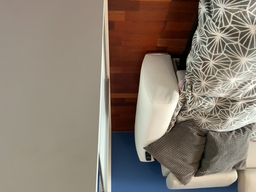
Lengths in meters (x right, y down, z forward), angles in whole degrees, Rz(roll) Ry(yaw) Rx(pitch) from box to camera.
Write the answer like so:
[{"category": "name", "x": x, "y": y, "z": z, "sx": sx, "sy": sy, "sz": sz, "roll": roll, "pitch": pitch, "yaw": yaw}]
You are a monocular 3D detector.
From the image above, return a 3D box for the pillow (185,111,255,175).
[{"category": "pillow", "x": 0.790, "y": 0.390, "z": 1.690, "sx": 0.470, "sy": 0.320, "sz": 0.420, "roll": 6, "pitch": 141, "yaw": -8}]
